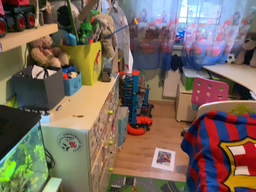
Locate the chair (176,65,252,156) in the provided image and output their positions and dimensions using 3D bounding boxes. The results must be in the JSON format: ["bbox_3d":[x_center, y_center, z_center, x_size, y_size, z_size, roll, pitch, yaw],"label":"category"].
[{"bbox_3d":[0.940,0.130,2.390,0.500,0.770,0.520,23,33,37],"label":"chair"}]
